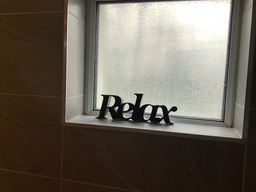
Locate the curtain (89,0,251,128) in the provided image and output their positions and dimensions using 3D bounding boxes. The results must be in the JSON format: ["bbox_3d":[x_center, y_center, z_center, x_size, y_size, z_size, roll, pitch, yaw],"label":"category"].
[{"bbox_3d":[0.160,-0.310,0.910,0.610,0.820,0.160,3,4,13],"label":"curtain"}]
